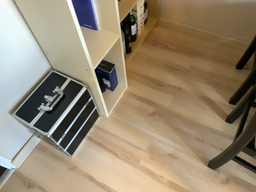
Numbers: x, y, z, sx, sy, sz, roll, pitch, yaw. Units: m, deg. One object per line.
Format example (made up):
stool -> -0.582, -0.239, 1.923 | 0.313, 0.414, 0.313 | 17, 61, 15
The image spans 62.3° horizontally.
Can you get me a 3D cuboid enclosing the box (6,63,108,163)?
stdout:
box -> -0.360, 0.110, 1.220 | 0.310, 0.400, 0.330 | 23, 63, 18
